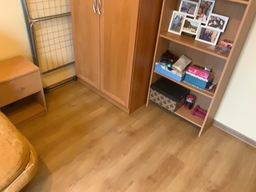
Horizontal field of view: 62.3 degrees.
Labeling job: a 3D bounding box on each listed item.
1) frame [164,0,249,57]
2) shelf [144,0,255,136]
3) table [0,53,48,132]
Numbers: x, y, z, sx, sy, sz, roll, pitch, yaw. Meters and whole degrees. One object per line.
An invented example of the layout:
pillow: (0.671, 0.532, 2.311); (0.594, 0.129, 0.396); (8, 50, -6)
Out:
frame: (0.570, -0.560, 1.640); (0.550, 0.310, 0.120); (31, 43, 30)
shelf: (0.560, -0.530, 1.630); (0.630, 1.730, 0.260); (31, 43, 30)
table: (-0.970, -0.040, 1.800); (0.370, 0.480, 0.330); (-28, 48, -37)
